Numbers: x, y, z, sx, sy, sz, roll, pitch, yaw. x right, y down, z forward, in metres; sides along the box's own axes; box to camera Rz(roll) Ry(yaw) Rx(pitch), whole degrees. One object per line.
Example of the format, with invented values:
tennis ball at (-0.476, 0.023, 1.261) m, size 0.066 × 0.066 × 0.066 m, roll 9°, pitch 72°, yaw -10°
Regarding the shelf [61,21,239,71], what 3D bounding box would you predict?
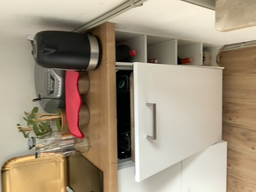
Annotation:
shelf at (0.130, -0.250, 1.320) m, size 0.620 × 0.910 × 0.150 m, roll 6°, pitch 98°, yaw 57°
